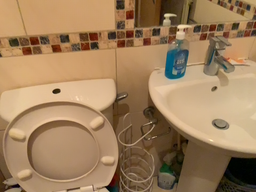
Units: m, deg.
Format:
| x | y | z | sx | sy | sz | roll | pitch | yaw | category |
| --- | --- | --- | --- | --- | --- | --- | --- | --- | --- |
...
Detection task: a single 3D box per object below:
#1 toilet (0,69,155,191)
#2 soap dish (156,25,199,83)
| x | y | z | sx | sy | sz | roll | pitch | yaw | category |
| --- | --- | --- | --- | --- | --- | --- | --- | --- | --- |
| -0.200 | 0.440 | 0.790 | 0.430 | 0.810 | 0.680 | -7 | 37 | -10 | toilet |
| 0.180 | -0.160 | 0.810 | 0.100 | 0.180 | 0.110 | -8 | 38 | -12 | soap dish |
